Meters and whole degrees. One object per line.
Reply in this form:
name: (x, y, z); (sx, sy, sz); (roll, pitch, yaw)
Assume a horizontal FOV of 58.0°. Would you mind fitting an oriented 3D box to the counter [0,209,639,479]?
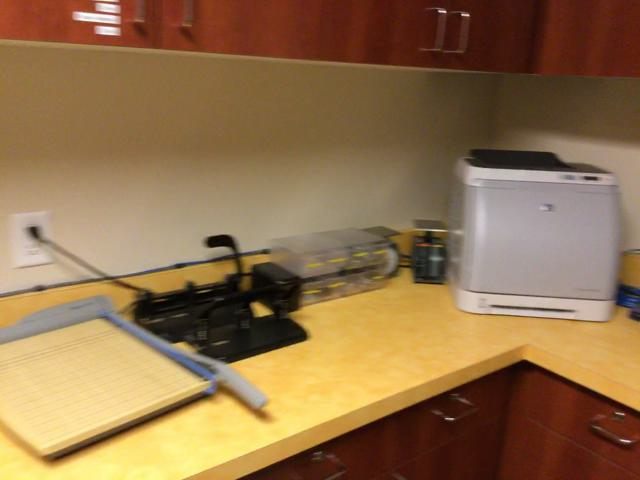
counter: (-0.070, 0.340, 0.800); (2.770, 0.240, 1.530); (-9, 18, -35)
